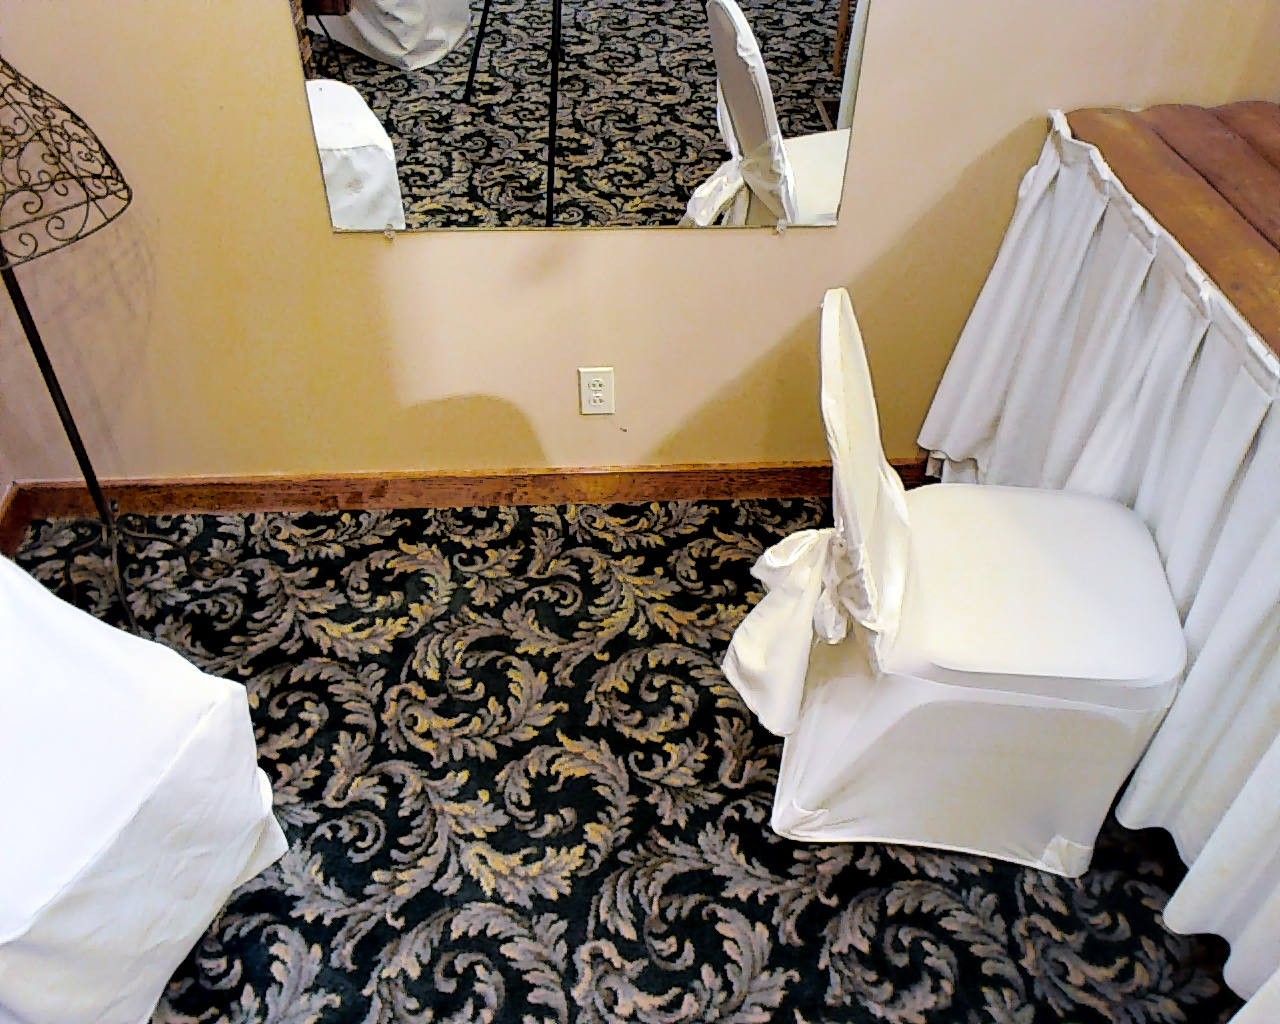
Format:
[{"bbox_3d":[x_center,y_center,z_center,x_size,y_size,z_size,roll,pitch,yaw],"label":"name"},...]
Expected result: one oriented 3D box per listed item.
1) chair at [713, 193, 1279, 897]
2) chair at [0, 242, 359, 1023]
[{"bbox_3d":[0.480,0.080,1.610,0.650,0.910,0.480,6,42,6],"label":"chair"},{"bbox_3d":[-0.840,0.250,1.310,0.600,1.030,0.550,18,45,18],"label":"chair"}]
